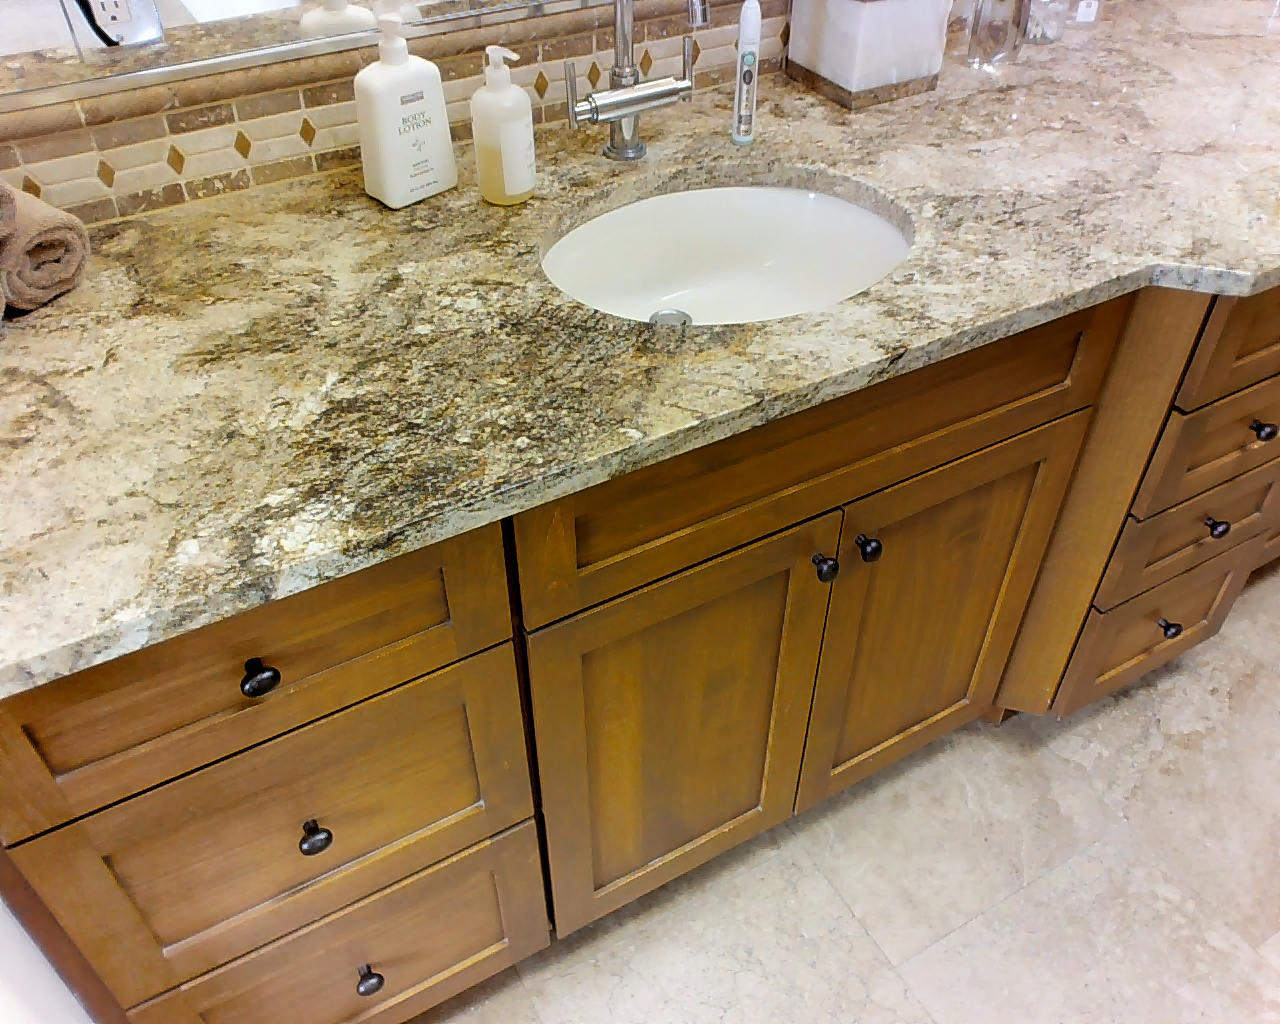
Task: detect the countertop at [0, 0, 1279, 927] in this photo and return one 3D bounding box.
[{"bbox_3d":[0.640,-0.560,1.380,2.980,0.340,0.740,-22,46,-23],"label":"countertop"}]

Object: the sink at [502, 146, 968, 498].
[{"bbox_3d":[0.100,-0.240,1.240,0.410,0.180,0.310,-22,46,-23],"label":"sink"}]

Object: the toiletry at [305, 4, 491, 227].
[{"bbox_3d":[-0.270,-0.450,1.210,0.140,0.180,0.140,-22,46,-23],"label":"toiletry"}]
